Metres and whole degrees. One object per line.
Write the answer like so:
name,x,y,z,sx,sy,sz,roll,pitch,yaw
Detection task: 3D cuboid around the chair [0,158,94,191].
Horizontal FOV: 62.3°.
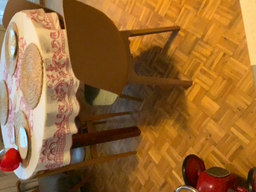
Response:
chair,-0.810,1.100,2.110,0.500,0.800,0.750,-13,81,48

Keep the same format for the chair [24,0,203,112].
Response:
chair,-0.080,-0.200,1.250,0.600,0.800,0.450,-18,77,47
